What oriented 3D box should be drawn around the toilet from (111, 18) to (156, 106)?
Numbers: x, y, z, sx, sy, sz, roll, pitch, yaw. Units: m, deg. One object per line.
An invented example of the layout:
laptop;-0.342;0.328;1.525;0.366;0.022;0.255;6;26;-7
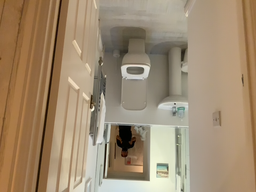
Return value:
toilet;0.060;-0.350;2.470;0.430;0.830;0.620;2;169;0
